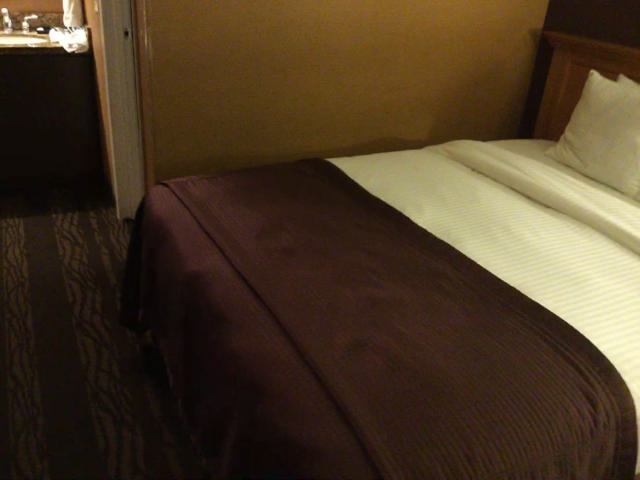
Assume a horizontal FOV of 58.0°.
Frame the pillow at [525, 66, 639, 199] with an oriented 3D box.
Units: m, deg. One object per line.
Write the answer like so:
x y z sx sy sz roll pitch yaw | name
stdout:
1.150 -0.430 2.180 0.360 0.350 0.580 -8 27 -23 | pillow

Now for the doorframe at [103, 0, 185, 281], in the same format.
-0.800 -0.540 2.600 0.170 1.210 0.780 -8 27 -23 | doorframe
